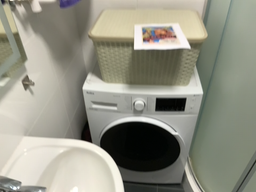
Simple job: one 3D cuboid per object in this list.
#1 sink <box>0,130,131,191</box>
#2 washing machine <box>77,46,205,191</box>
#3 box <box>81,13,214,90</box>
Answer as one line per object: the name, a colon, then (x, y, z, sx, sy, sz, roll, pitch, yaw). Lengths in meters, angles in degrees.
sink: (-0.220, 0.380, 0.700, 0.410, 0.210, 0.480, 4, 40, 6)
washing machine: (0.090, 0.170, 1.470, 0.610, 0.850, 0.500, 4, 40, 6)
box: (0.100, -0.260, 1.150, 0.580, 0.230, 0.400, 3, 40, 5)
